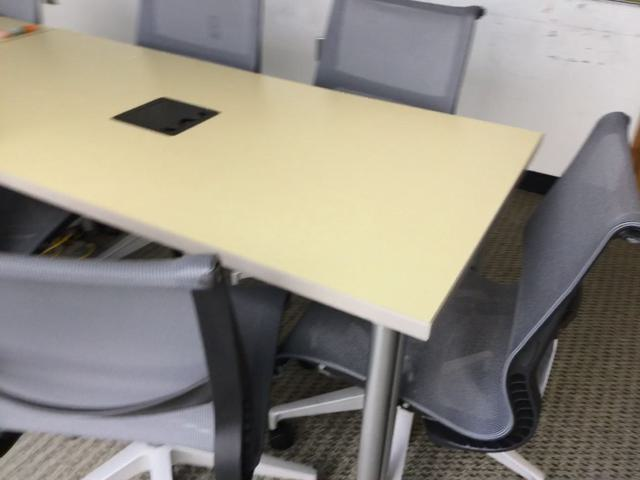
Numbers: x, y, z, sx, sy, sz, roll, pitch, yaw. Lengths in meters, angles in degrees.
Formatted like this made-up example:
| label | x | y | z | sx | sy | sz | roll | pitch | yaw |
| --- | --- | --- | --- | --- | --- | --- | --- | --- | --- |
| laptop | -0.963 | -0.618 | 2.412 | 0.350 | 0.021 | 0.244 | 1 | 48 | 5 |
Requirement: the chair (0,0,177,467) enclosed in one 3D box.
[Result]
| label | x | y | z | sx | sy | sz | roll | pitch | yaw |
| --- | --- | --- | --- | --- | --- | --- | --- | --- | --- |
| chair | -0.820 | -0.060 | 1.430 | 0.520 | 0.900 | 0.680 | 18 | 37 | 21 |

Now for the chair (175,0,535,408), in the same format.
| label | x | y | z | sx | sy | sz | roll | pitch | yaw |
| --- | --- | --- | --- | --- | --- | --- | --- | --- | --- |
| chair | 0.090 | -0.170 | 1.670 | 0.670 | 0.900 | 0.620 | 21 | 38 | 24 |

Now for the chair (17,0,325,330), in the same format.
| label | x | y | z | sx | sy | sz | roll | pitch | yaw |
| --- | --- | --- | --- | --- | --- | --- | --- | --- | --- |
| chair | -0.400 | -0.320 | 1.780 | 0.630 | 0.910 | 0.510 | 17 | 36 | 20 |
